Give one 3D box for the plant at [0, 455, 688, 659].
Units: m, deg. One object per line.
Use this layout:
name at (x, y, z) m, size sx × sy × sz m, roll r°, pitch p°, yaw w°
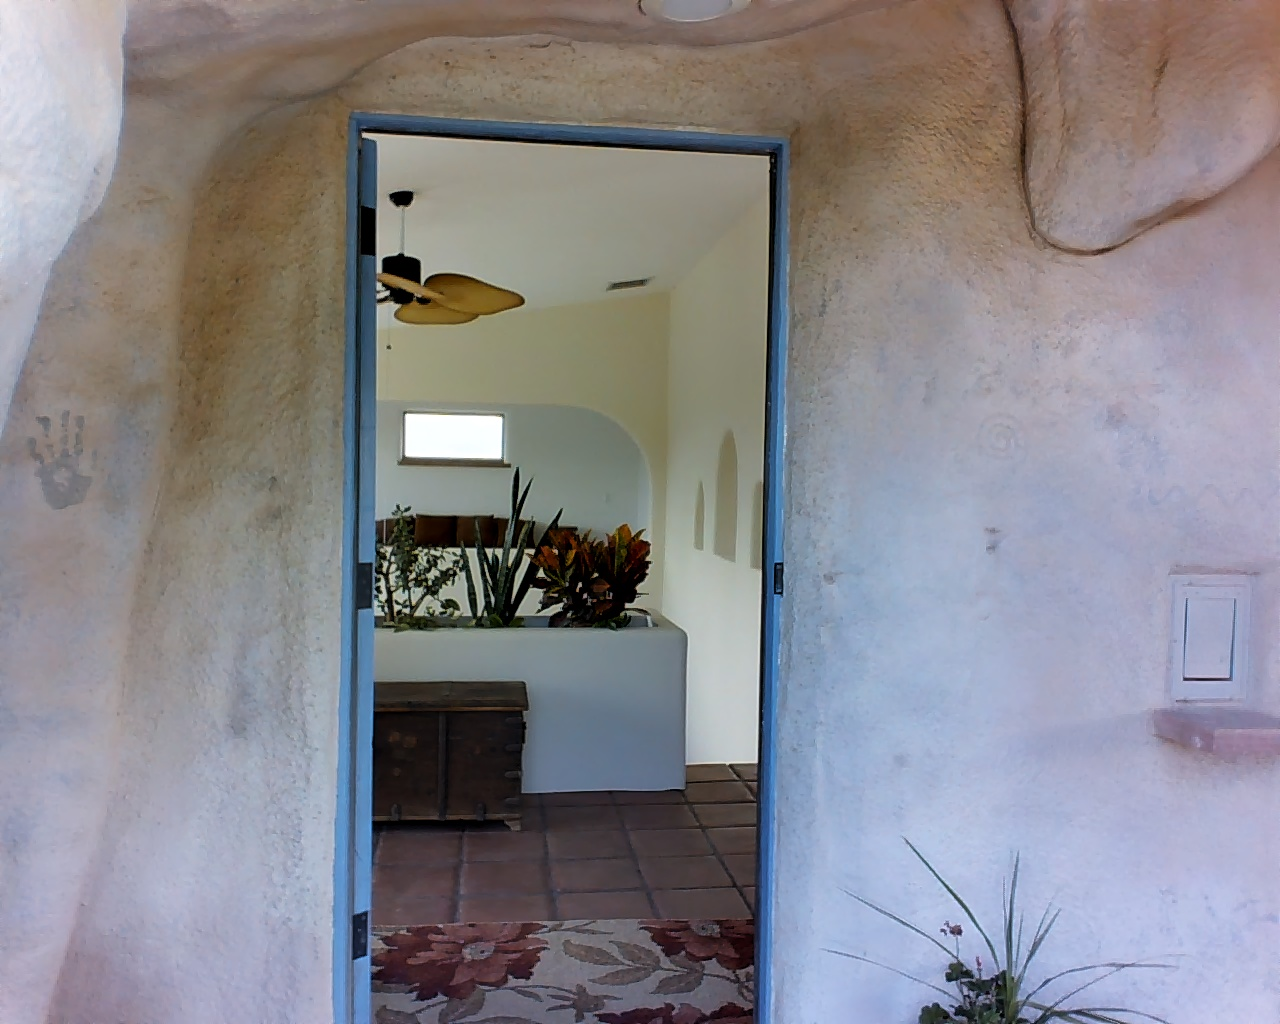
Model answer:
plant at (-1.520, 0.190, 4.710) m, size 3.379 × 0.800 × 0.630 m, roll 1°, pitch 1°, yaw -8°
